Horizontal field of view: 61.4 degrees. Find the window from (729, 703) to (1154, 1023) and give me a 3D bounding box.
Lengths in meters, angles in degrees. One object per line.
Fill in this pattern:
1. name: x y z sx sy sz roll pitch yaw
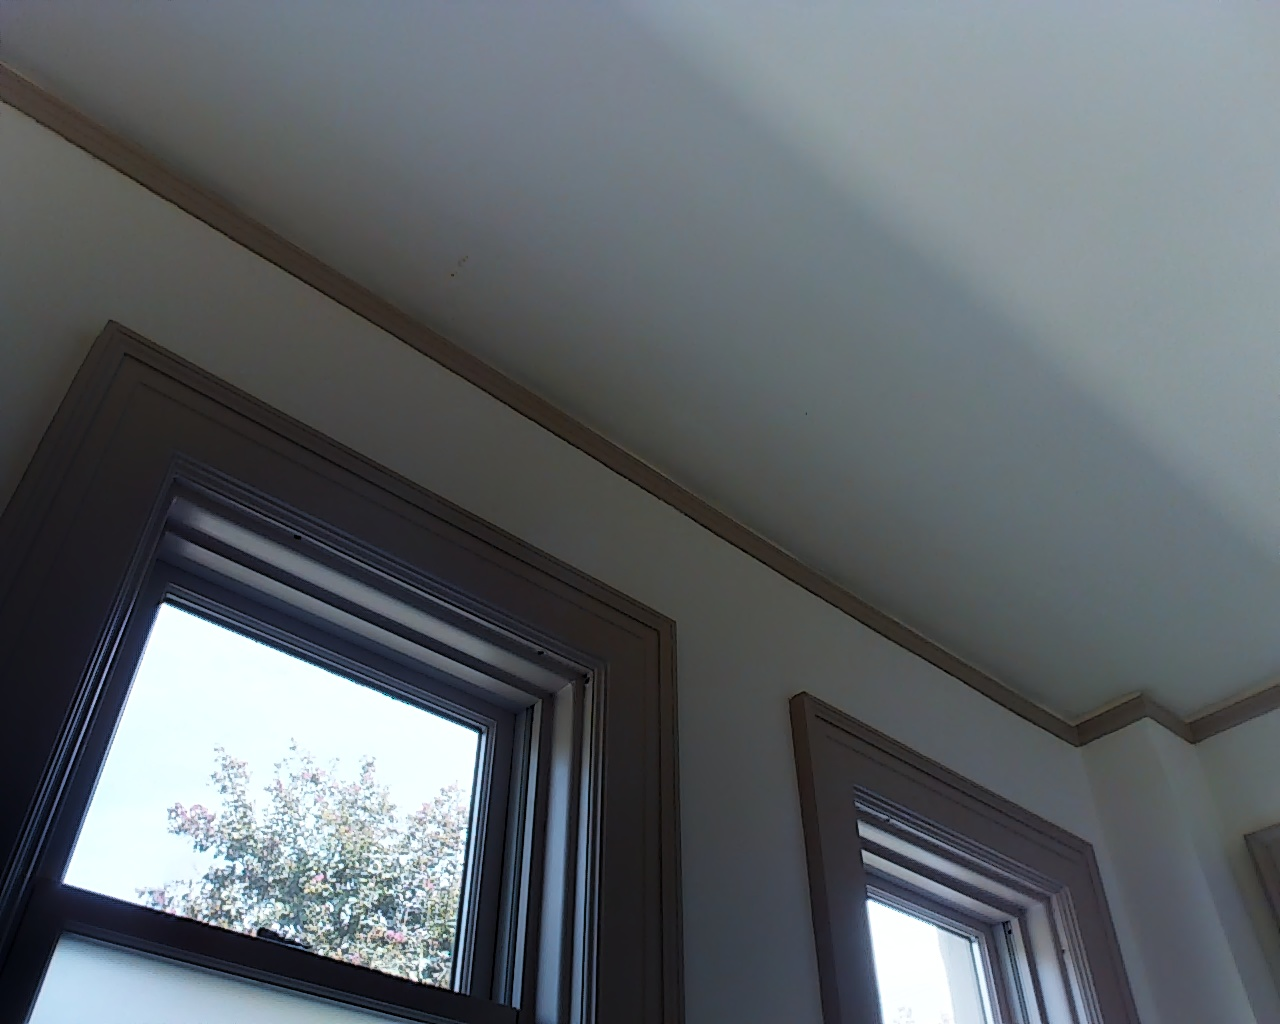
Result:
1. window: 0.520 0.950 1.600 0.770 1.110 0.250 31 -50 -29
